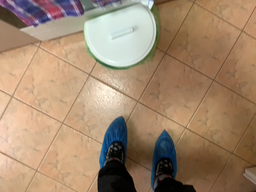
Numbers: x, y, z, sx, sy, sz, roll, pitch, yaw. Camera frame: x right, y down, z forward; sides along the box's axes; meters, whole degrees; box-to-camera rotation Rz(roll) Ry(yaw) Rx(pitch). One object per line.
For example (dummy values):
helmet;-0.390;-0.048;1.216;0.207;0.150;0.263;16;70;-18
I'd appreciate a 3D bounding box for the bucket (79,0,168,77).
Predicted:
bucket;-0.020;-0.250;0.990;0.300;0.320;0.260;-13;94;-1
